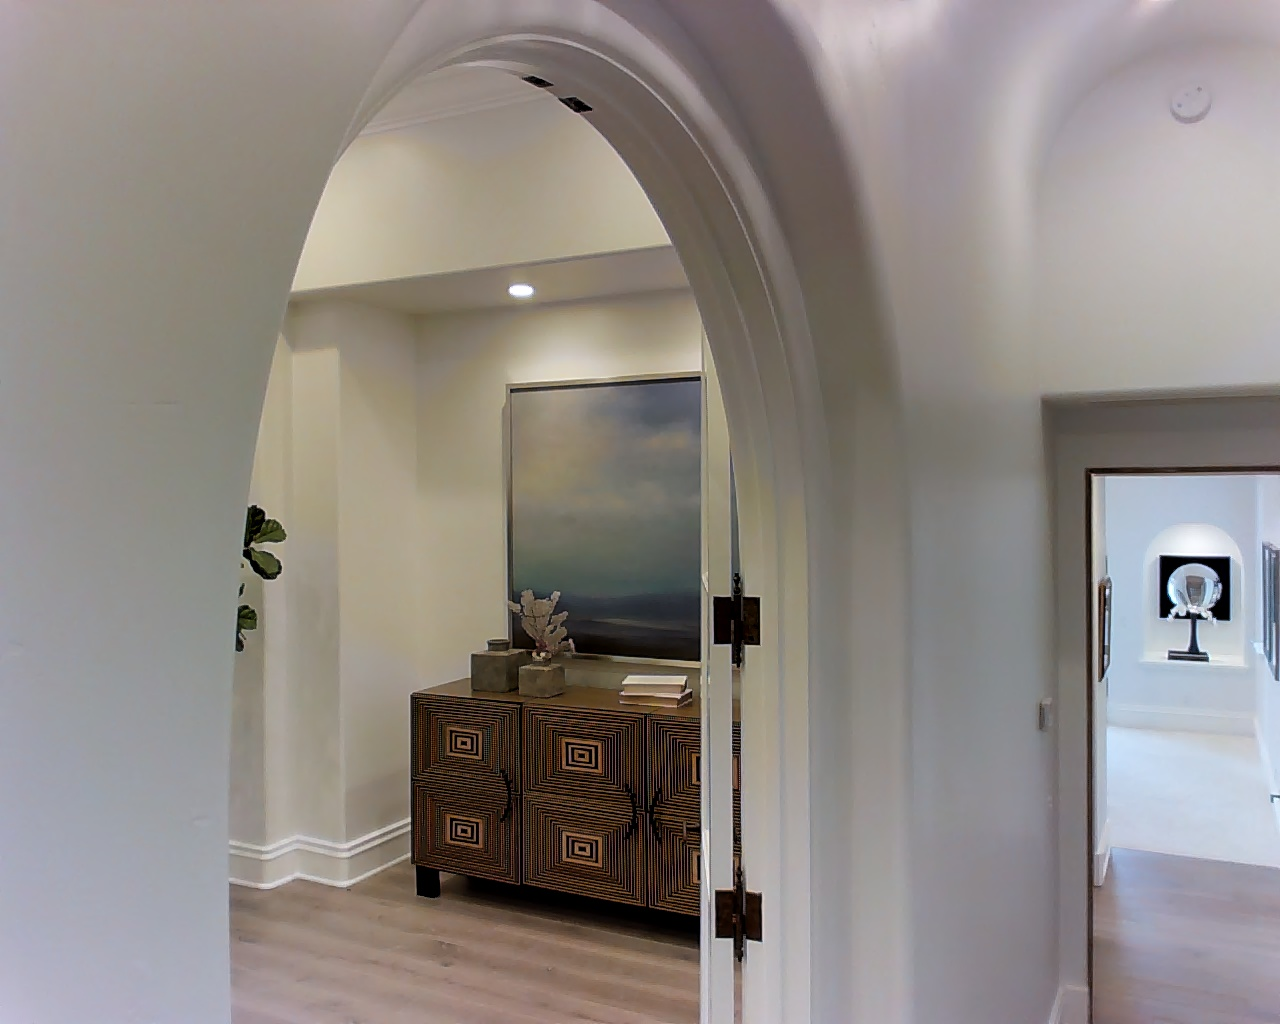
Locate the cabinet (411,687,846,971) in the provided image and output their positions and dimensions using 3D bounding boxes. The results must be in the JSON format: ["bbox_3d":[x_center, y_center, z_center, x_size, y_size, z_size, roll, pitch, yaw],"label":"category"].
[{"bbox_3d":[-0.090,1.310,4.730,1.870,0.900,0.510,-1,1,27],"label":"cabinet"}]
